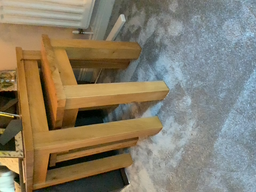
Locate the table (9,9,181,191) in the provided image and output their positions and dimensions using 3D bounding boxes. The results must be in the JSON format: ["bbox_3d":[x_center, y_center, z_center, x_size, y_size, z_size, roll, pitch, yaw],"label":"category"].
[{"bbox_3d":[-0.260,0.050,1.140,0.600,0.600,0.680,65,145,31],"label":"table"}]
